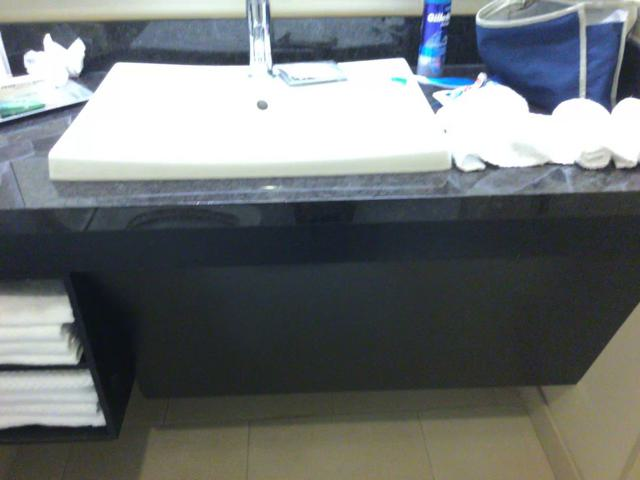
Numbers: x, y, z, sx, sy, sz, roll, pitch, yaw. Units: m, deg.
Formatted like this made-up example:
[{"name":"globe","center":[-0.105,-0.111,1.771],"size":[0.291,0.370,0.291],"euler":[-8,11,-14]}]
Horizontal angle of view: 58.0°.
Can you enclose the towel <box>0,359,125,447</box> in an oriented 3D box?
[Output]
[{"name":"towel","center":[-0.560,0.300,1.040],"size":[0.370,0.170,0.040],"euler":[-2,33,-3]}]

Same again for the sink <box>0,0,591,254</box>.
[{"name":"sink","center":[-0.040,-0.250,1.010],"size":[0.750,0.290,0.490],"euler":[-2,33,-3]}]

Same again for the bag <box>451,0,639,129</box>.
[{"name":"bag","center":[0.420,-0.340,1.040],"size":[0.290,0.190,0.240],"euler":[-2,33,-3]}]

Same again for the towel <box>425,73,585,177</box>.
[{"name":"towel","center":[0.280,-0.190,0.920],"size":[0.170,0.080,0.220],"euler":[-2,33,-3]}]

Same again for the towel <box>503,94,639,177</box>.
[{"name":"towel","center":[0.400,-0.170,0.910],"size":[0.150,0.050,0.200],"euler":[-2,33,-3]}]
